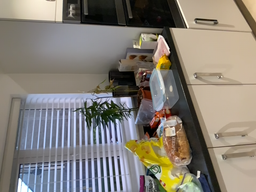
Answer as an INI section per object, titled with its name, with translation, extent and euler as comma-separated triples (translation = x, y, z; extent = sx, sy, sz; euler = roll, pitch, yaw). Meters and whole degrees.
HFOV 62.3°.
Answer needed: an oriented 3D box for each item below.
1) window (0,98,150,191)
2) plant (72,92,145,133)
[window]
translation = -0.420, 0.470, 1.690
extent = 0.030, 1.110, 1.010
euler = 110, 155, -56
[plant]
translation = -0.170, 0.130, 1.710
extent = 0.240, 0.530, 0.230
euler = 110, 155, -56
